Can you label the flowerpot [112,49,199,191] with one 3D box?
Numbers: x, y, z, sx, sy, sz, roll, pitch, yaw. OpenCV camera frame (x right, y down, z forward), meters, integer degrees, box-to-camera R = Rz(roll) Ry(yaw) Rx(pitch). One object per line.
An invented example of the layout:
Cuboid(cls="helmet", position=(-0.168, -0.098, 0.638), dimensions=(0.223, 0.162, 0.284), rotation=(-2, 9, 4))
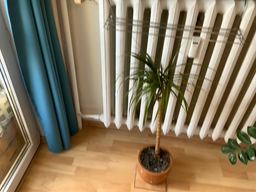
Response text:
Cuboid(cls="flowerpot", position=(0.110, 0.190, 1.190), dimensions=(0.330, 0.820, 0.250), rotation=(11, 40, 6))
